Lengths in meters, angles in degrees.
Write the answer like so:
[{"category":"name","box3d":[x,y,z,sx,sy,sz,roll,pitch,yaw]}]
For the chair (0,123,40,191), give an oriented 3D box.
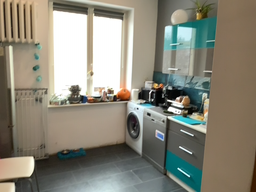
[{"category":"chair","box3d":[-1.190,0.750,2.140,0.530,0.820,0.440,-1,10,-21]}]
